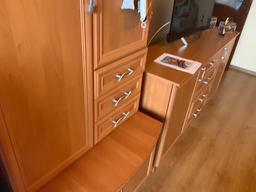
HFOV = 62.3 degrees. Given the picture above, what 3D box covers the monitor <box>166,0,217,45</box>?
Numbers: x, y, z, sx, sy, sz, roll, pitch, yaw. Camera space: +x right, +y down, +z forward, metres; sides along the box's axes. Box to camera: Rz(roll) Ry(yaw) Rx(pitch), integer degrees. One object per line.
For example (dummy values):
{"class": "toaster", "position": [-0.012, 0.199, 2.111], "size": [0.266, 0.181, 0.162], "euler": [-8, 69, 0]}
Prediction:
{"class": "monitor", "position": [0.590, -0.740, 1.870], "size": [0.060, 0.450, 0.670], "euler": [31, 41, 33]}
